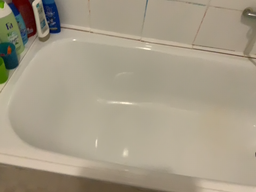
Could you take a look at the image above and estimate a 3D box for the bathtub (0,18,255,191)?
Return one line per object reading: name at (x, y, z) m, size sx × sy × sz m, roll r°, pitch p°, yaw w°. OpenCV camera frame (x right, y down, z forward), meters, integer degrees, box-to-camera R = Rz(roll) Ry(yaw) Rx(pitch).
bathtub at (0.210, 0.170, 1.020) m, size 1.530 × 0.520 × 0.700 m, roll 9°, pitch 52°, yaw 1°
